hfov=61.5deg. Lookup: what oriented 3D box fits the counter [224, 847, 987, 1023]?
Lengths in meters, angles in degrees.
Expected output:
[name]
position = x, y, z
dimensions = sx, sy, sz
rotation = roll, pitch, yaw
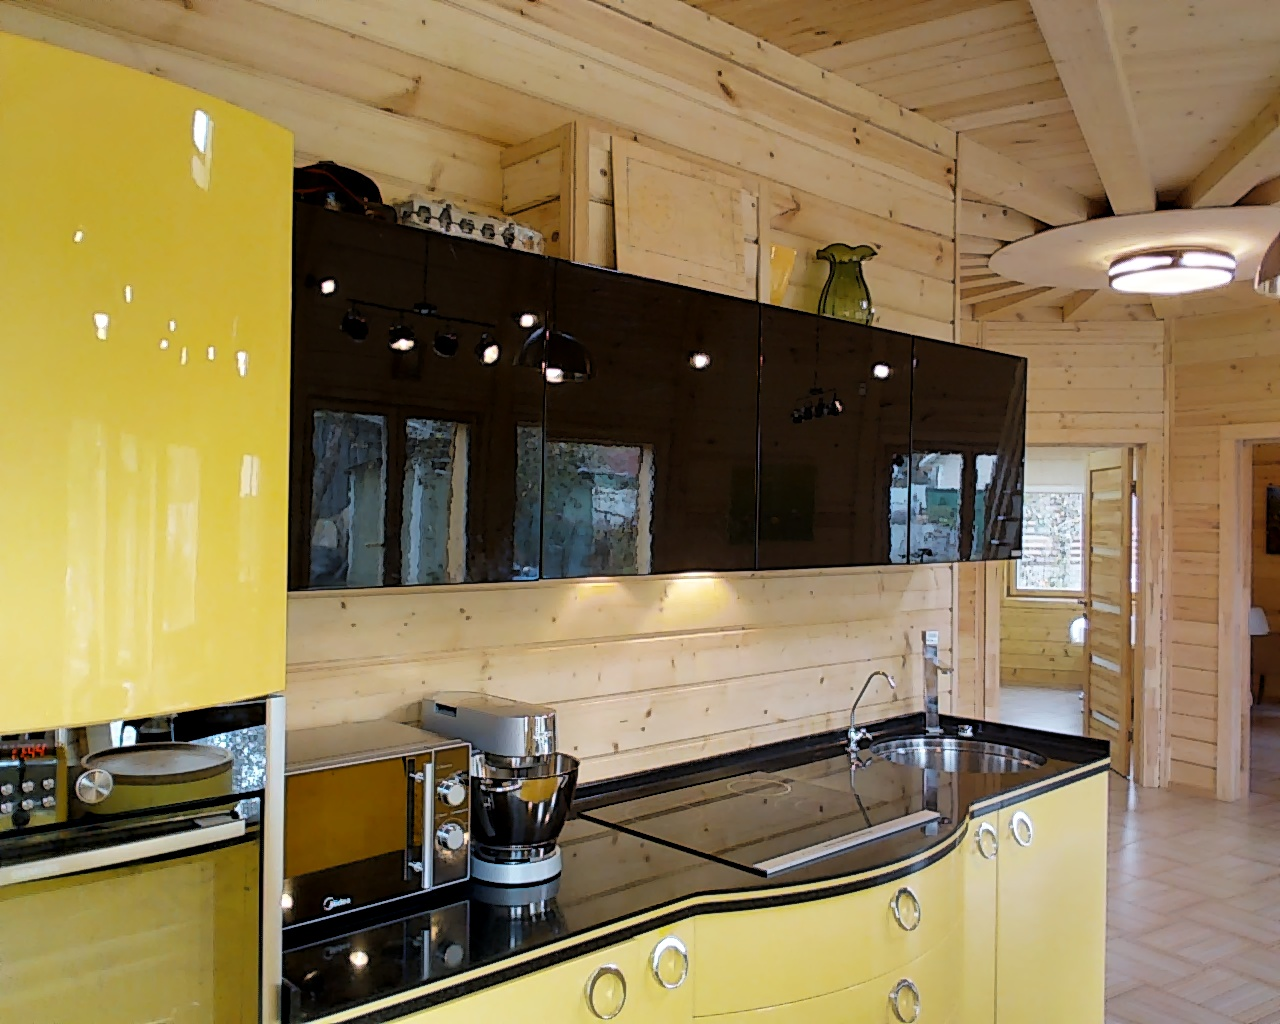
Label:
[counter]
position = -0.040, 0.690, 1.570
dimensions = 0.850, 0.060, 0.720
rotation = 1, 0, -43
